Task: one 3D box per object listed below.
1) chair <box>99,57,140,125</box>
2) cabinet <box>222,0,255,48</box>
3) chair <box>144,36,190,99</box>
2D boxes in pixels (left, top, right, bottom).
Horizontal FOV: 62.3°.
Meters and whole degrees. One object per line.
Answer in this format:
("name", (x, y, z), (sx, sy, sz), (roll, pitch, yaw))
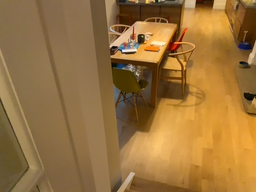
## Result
("chair", (-0.100, -0.070, 2.940), (0.390, 0.770, 0.430), (12, 35, 18))
("cabinet", (3.000, -1.930, 5.530), (0.710, 0.950, 1.140), (8, 34, 13))
("chair", (0.640, -0.490, 3.540), (0.500, 0.800, 0.580), (19, 38, 27))
